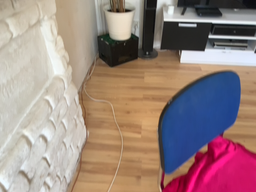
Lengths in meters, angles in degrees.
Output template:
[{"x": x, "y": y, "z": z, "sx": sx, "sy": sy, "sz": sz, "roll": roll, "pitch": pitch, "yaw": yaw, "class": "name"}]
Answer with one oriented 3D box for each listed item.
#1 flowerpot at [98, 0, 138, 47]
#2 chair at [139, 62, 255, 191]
[{"x": -0.120, "y": -1.120, "z": 2.200, "sx": 0.250, "sy": 1.080, "sz": 0.430, "roll": -22, "pitch": 44, "yaw": -25, "class": "flowerpot"}, {"x": 0.420, "y": 0.420, "z": 0.900, "sx": 0.510, "sy": 0.860, "sz": 0.540, "roll": -27, "pitch": 46, "yaw": -29, "class": "chair"}]
